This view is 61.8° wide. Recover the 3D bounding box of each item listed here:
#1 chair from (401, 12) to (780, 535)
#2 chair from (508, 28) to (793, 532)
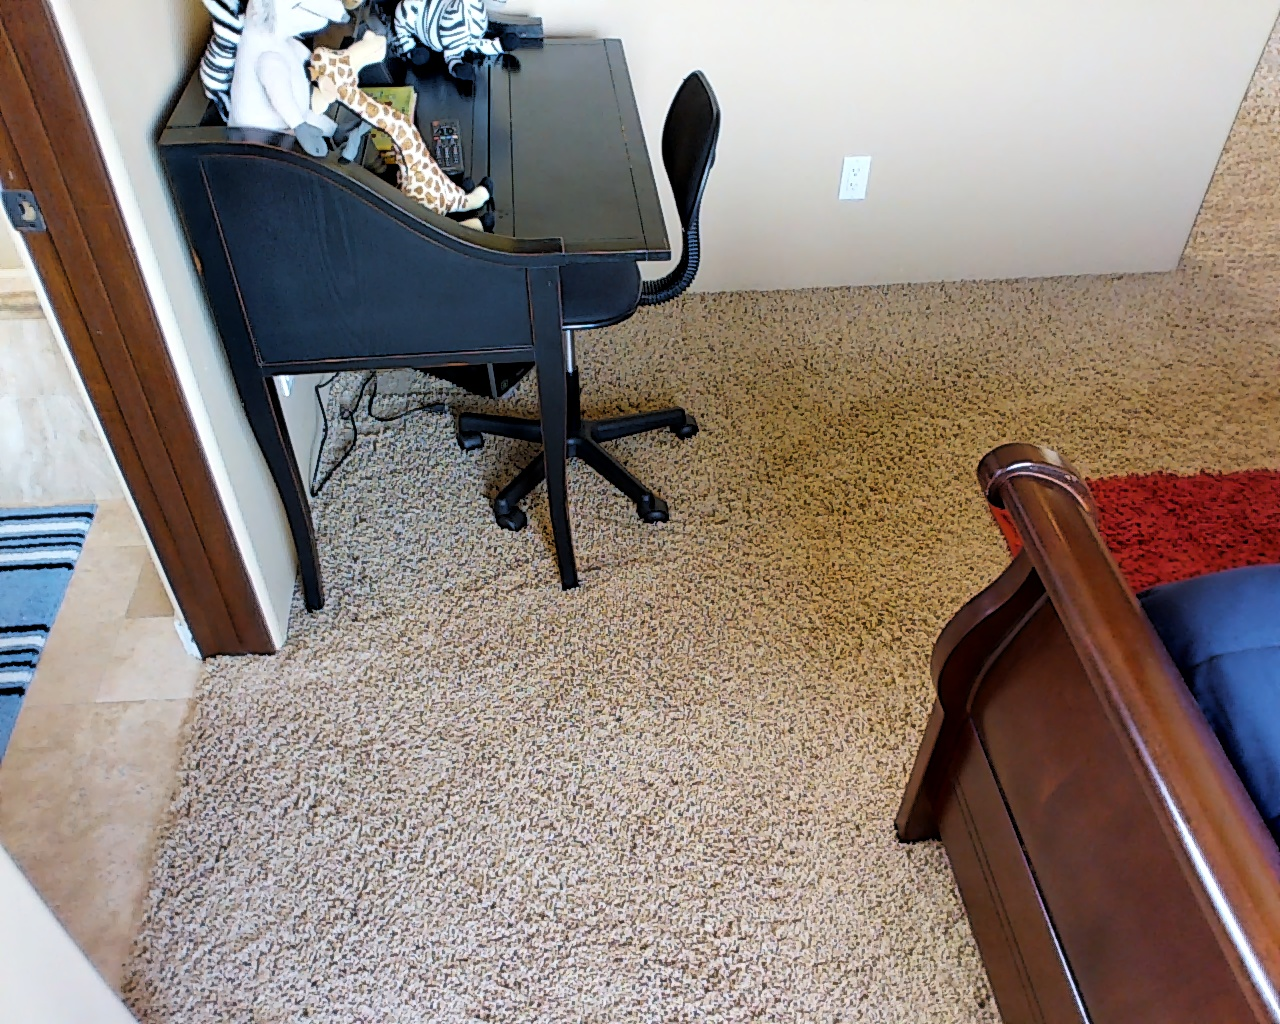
[{"bbox_3d":[-0.100,-0.460,2.120,0.580,0.820,0.560,-3,43,-4],"label":"chair"},{"bbox_3d":[-0.010,-0.450,2.120,0.440,0.780,0.570,-3,43,-4],"label":"chair"}]
